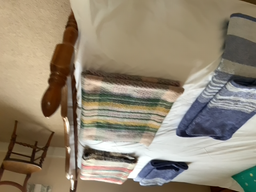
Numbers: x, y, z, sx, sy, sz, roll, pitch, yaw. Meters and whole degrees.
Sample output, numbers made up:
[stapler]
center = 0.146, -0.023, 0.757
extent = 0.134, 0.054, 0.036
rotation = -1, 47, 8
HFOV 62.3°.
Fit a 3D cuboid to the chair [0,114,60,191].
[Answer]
[chair]
center = -1.110, 0.710, 2.180
extent = 0.450, 0.830, 0.490
rotation = 28, 136, -31
